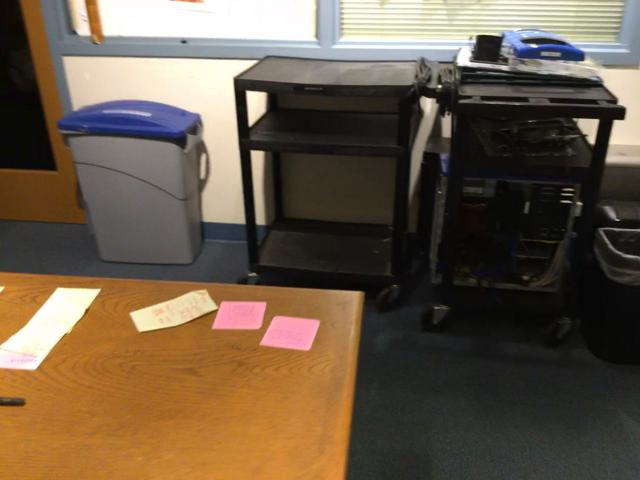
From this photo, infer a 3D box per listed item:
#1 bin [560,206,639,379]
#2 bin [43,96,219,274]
[{"bbox_3d":[1.060,0.170,1.880,0.360,0.440,0.340,4,26,4],"label":"bin"},{"bbox_3d":[-0.780,-0.240,2.500,0.590,0.670,0.300,4,26,4],"label":"bin"}]
